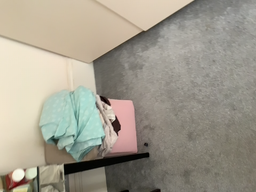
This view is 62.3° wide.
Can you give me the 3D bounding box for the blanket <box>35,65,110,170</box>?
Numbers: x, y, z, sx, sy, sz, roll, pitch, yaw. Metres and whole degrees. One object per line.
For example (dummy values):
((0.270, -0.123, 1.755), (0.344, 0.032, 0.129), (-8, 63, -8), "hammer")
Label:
((-0.360, 0.150, 1.290), (0.430, 0.180, 0.520), (-20, 70, 35), "blanket")
